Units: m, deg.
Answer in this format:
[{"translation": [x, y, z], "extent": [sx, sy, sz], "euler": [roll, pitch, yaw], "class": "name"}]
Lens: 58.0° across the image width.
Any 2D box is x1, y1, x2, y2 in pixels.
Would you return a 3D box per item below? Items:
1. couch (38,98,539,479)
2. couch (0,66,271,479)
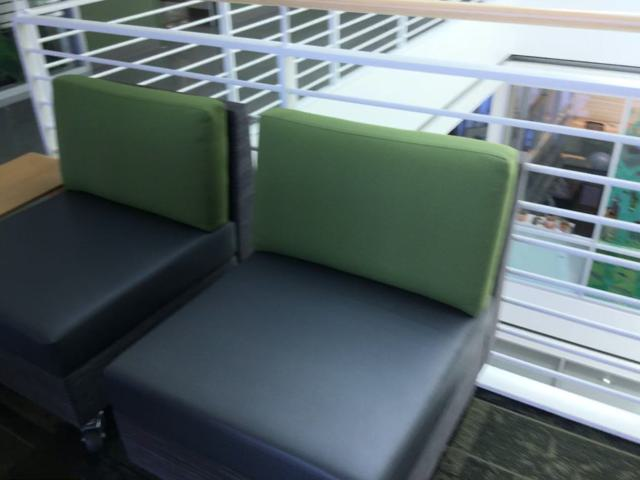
[{"translation": [0.000, 0.200, 1.360], "extent": [0.740, 0.860, 0.720], "euler": [12, 30, 29], "class": "couch"}, {"translation": [-0.680, 0.020, 1.720], "extent": [0.700, 0.890, 0.710], "euler": [14, 31, 31], "class": "couch"}]
